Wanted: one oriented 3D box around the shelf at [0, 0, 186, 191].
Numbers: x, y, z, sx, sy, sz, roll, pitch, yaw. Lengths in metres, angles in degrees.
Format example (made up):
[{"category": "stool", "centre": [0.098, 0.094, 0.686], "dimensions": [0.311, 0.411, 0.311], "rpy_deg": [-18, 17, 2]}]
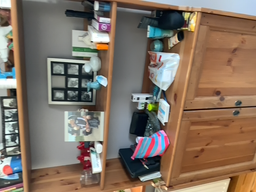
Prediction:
[{"category": "shelf", "centre": [-0.310, 0.010, 1.060], "dimensions": [0.140, 1.110, 0.970], "rpy_deg": [-135, 48, -60]}]
